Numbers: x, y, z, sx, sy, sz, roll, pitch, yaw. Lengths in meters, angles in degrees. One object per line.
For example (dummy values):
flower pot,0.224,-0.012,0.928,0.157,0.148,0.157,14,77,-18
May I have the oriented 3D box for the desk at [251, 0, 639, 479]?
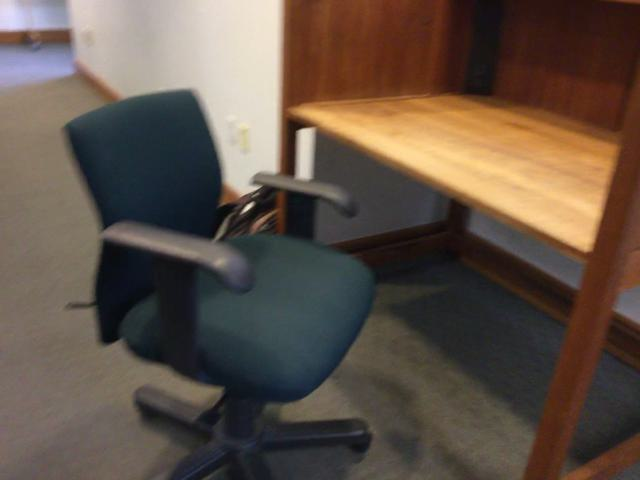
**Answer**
desk,0.560,-0.270,1.750,1.030,1.420,1.390,-10,29,-28
